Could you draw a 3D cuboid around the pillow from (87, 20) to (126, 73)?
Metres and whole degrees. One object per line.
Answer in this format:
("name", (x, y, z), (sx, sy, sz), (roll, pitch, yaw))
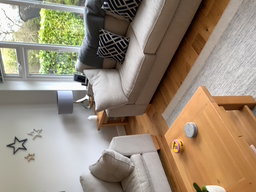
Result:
("pillow", (-0.300, -0.610, 2.700), (0.690, 0.420, 0.200), (106, 153, -56))

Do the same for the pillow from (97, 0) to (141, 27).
("pillow", (-0.100, -0.980, 2.210), (0.490, 0.420, 0.180), (108, 151, -63))
